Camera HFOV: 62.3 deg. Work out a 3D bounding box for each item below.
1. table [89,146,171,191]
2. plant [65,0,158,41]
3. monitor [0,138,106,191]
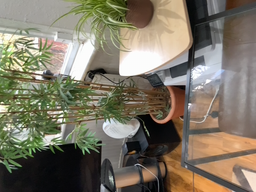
[{"bbox_3d":[0.000,1.050,1.900,0.560,0.540,1.060,-7,83,60],"label":"table"},{"bbox_3d":[-0.070,-0.370,0.850,0.230,0.300,0.200,0,89,60],"label":"plant"},{"bbox_3d":[-0.560,1.030,1.500,0.050,0.830,1.390,1,90,60],"label":"monitor"}]
